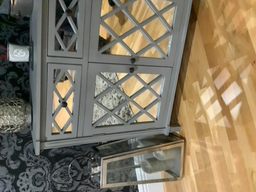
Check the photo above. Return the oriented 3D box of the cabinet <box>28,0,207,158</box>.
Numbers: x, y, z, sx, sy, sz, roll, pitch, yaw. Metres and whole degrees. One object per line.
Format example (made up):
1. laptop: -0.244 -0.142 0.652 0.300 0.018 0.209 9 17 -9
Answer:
1. cabinet: -0.080 -0.190 1.150 0.390 0.800 0.820 30 116 56
